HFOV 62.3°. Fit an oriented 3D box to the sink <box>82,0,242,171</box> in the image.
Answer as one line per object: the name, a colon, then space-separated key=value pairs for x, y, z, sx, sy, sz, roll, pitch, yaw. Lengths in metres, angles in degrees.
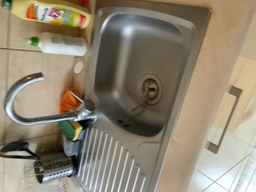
sink: x=0.060 y=-0.070 z=0.700 sx=0.410 sy=0.170 sz=0.410 roll=29 pitch=113 yaw=40
